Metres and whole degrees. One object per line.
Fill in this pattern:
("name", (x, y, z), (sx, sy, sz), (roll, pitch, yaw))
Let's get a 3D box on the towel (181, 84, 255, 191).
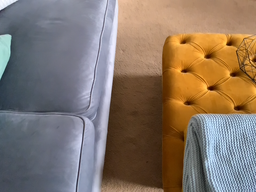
("towel", (0.440, 0.190, 0.730), (0.470, 0.130, 0.400), (6, 66, 5))
